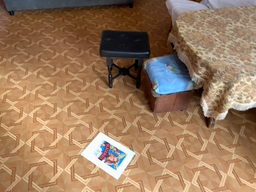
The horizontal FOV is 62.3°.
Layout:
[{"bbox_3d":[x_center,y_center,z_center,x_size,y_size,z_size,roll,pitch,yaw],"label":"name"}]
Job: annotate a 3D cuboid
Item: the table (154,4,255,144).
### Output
[{"bbox_3d":[1.000,-0.240,1.640,1.350,0.600,0.770,-8,48,-10],"label":"table"}]
